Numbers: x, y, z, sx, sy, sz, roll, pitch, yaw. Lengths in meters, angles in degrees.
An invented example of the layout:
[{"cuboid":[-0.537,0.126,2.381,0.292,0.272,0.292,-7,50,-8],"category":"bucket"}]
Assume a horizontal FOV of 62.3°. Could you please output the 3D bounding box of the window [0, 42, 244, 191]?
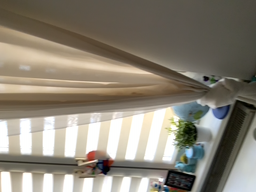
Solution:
[{"cuboid":[-0.310,0.500,1.300,0.160,1.530,1.500,-106,25,-63],"category":"window"}]
